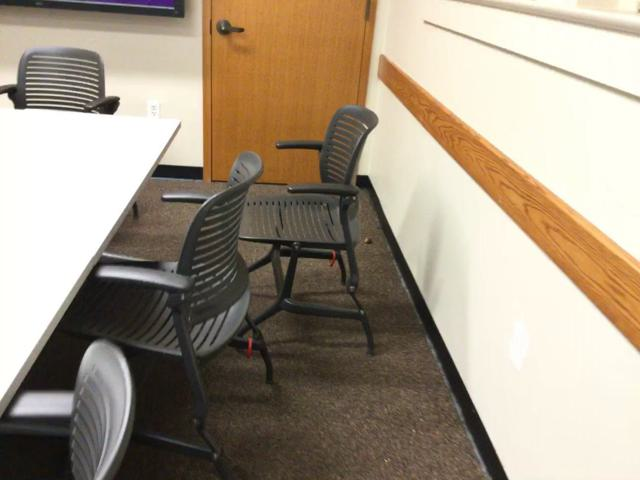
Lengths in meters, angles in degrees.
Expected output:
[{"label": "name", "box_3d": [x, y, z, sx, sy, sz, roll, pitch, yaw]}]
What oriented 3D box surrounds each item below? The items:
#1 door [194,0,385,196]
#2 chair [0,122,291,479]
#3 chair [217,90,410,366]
[{"label": "door", "box_3d": [-0.170, -1.250, 3.320, 1.040, 2.000, 0.080, 4, 23, -6]}, {"label": "chair", "box_3d": [-0.410, 0.170, 1.610, 0.580, 0.820, 0.610, 4, 23, -6]}, {"label": "chair", "box_3d": [-0.080, -0.060, 2.220, 0.570, 0.870, 0.600, 3, 24, -9]}]
